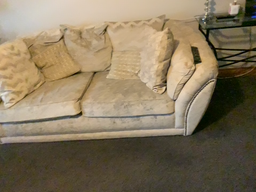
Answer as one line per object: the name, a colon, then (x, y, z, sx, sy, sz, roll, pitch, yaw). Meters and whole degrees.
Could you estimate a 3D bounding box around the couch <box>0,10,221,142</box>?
couch: (-0.400, -0.220, 2.120, 2.150, 0.770, 1.020, -4, 34, 6)
